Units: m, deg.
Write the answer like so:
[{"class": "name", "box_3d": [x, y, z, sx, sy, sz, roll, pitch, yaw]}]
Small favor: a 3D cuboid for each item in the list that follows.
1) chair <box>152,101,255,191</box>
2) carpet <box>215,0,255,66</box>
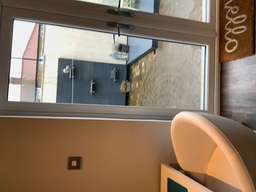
[{"class": "chair", "box_3d": [0.670, 0.400, 1.250, 0.690, 0.820, 0.690, -178, 91, -73]}, {"class": "carpet", "box_3d": [0.970, -0.670, 1.900, 0.430, 0.100, 0.730, 172, 101, -73]}]
